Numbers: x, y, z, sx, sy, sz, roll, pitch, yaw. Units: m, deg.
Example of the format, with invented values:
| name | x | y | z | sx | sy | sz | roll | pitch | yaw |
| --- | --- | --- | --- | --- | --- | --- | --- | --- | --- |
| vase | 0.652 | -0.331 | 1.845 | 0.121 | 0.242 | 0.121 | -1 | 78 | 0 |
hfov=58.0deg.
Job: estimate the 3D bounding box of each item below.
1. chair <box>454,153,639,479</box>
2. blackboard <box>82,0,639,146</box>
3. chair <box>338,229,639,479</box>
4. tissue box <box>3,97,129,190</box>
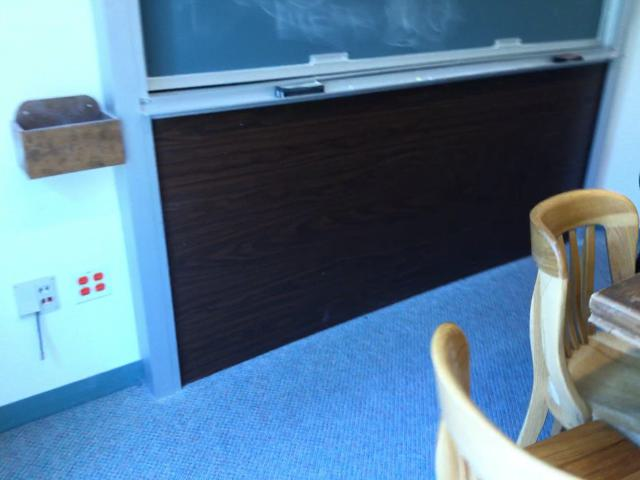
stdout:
| name | x | y | z | sx | sy | sz | roll | pitch | yaw |
| --- | --- | --- | --- | --- | --- | --- | --- | --- | --- |
| chair | 0.760 | 0.230 | 1.510 | 0.620 | 0.740 | 0.470 | -16 | 26 | -29 |
| blackboard | 0.480 | -0.860 | 2.110 | 2.530 | 0.600 | 0.170 | -16 | 26 | -29 |
| chair | 0.450 | 0.520 | 1.010 | 0.580 | 0.840 | 0.580 | -16 | 26 | -29 |
| tissue box | -0.690 | -0.270 | 1.570 | 0.250 | 0.180 | 0.210 | -16 | 26 | -29 |
